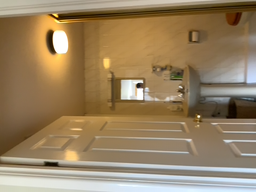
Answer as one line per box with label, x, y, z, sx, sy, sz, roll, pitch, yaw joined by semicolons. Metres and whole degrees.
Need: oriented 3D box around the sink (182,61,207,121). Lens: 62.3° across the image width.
sink;0.770;-0.060;2.500;0.390;0.210;0.650;-16;-73;-82
